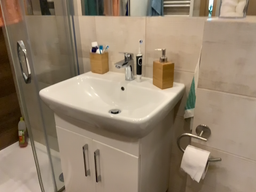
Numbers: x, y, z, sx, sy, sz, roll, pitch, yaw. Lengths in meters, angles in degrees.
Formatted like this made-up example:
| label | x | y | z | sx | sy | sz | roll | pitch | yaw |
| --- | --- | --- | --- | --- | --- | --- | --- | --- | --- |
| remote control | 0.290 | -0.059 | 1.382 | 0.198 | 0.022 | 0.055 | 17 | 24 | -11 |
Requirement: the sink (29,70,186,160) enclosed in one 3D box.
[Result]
| label | x | y | z | sx | sy | sz | roll | pitch | yaw |
| --- | --- | --- | --- | --- | --- | --- | --- | --- | --- |
| sink | -0.090 | 0.030 | 1.060 | 0.610 | 0.140 | 0.460 | 13 | 26 | 30 |
